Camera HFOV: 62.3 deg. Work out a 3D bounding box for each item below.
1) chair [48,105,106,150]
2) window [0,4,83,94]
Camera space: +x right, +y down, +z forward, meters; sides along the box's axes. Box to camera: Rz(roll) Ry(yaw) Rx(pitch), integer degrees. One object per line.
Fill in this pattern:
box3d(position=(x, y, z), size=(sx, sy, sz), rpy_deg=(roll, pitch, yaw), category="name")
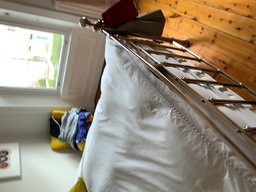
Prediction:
box3d(position=(-0.810, 0.470, 3.290), size=(0.680, 0.690, 0.590), rpy_deg=(-15, 75, 57), category="chair")
box3d(position=(-1.640, -0.580, 2.700), size=(0.240, 1.930, 1.090), rpy_deg=(51, 130, 47), category="window")
